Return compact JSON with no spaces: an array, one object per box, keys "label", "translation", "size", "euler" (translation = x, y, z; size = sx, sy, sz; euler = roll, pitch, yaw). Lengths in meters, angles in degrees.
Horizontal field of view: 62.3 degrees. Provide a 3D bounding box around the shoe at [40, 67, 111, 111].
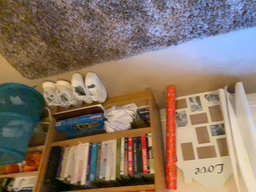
[{"label":"shoe","translation":[-0.370,-0.040,1.550],"size":[0.420,0.110,0.260],"euler":[-10,141,13]}]
